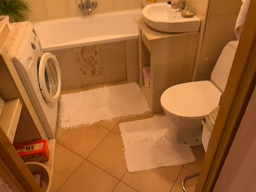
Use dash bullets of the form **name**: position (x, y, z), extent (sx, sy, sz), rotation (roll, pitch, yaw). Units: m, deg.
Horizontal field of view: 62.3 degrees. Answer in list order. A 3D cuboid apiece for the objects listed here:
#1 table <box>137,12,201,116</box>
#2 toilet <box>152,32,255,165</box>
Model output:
- **table**: position (0.320, -0.280, 1.950), extent (0.360, 0.780, 0.470), rotation (-9, 41, -7)
- **toilet**: position (0.570, 0.040, 1.540), extent (0.680, 0.800, 0.390), rotation (-9, 41, -7)
